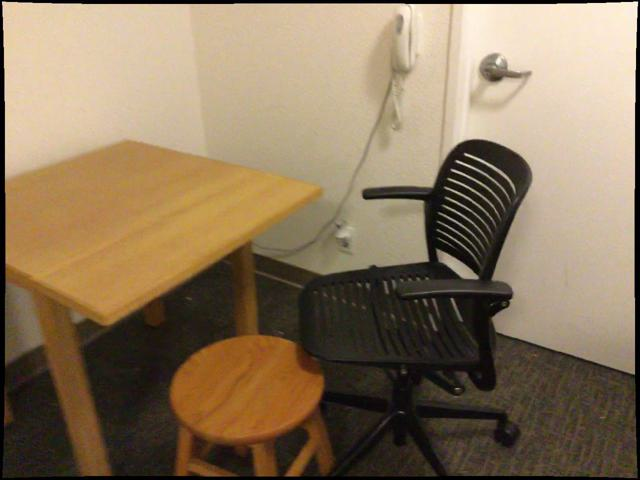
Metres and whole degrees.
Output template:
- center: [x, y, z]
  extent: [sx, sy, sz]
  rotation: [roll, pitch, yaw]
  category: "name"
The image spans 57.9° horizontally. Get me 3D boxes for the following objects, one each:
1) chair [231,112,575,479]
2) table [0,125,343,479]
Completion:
- center: [0.230, 0.200, 1.560]
  extent: [0.600, 0.871, 0.600]
  rotation: [15, 34, 28]
  category: "chair"
- center: [-0.549, 0.200, 1.800]
  extent: [0.949, 0.771, 0.820]
  rotation: [15, 34, 28]
  category: "table"
